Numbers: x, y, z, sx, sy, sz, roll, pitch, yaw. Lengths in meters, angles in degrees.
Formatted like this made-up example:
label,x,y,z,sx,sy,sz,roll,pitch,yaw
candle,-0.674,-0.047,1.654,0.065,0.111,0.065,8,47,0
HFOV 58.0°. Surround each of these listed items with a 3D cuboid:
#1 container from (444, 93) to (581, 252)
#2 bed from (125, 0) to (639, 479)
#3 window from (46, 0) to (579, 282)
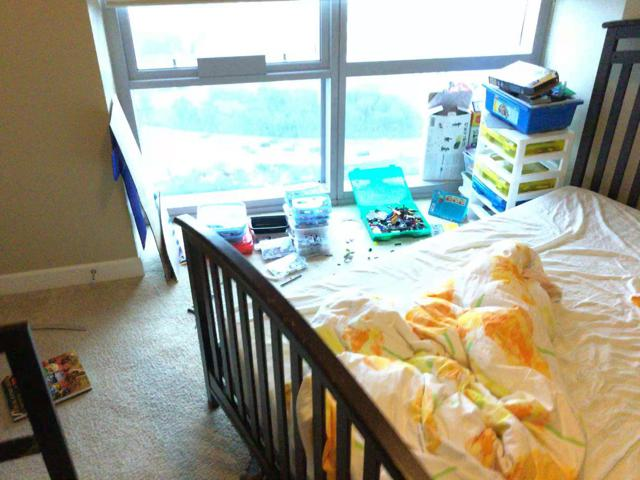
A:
label,x,y,z,sx,sy,sz,roll,pitch,yaw
container,0.930,-0.350,2.890,0.340,0.600,0.470,-19,36,-25
bed,0.760,0.090,1.720,2.020,1.260,1.480,-19,36,-25
window,-0.060,-0.730,3.040,2.100,1.080,1.250,-8,32,-8
